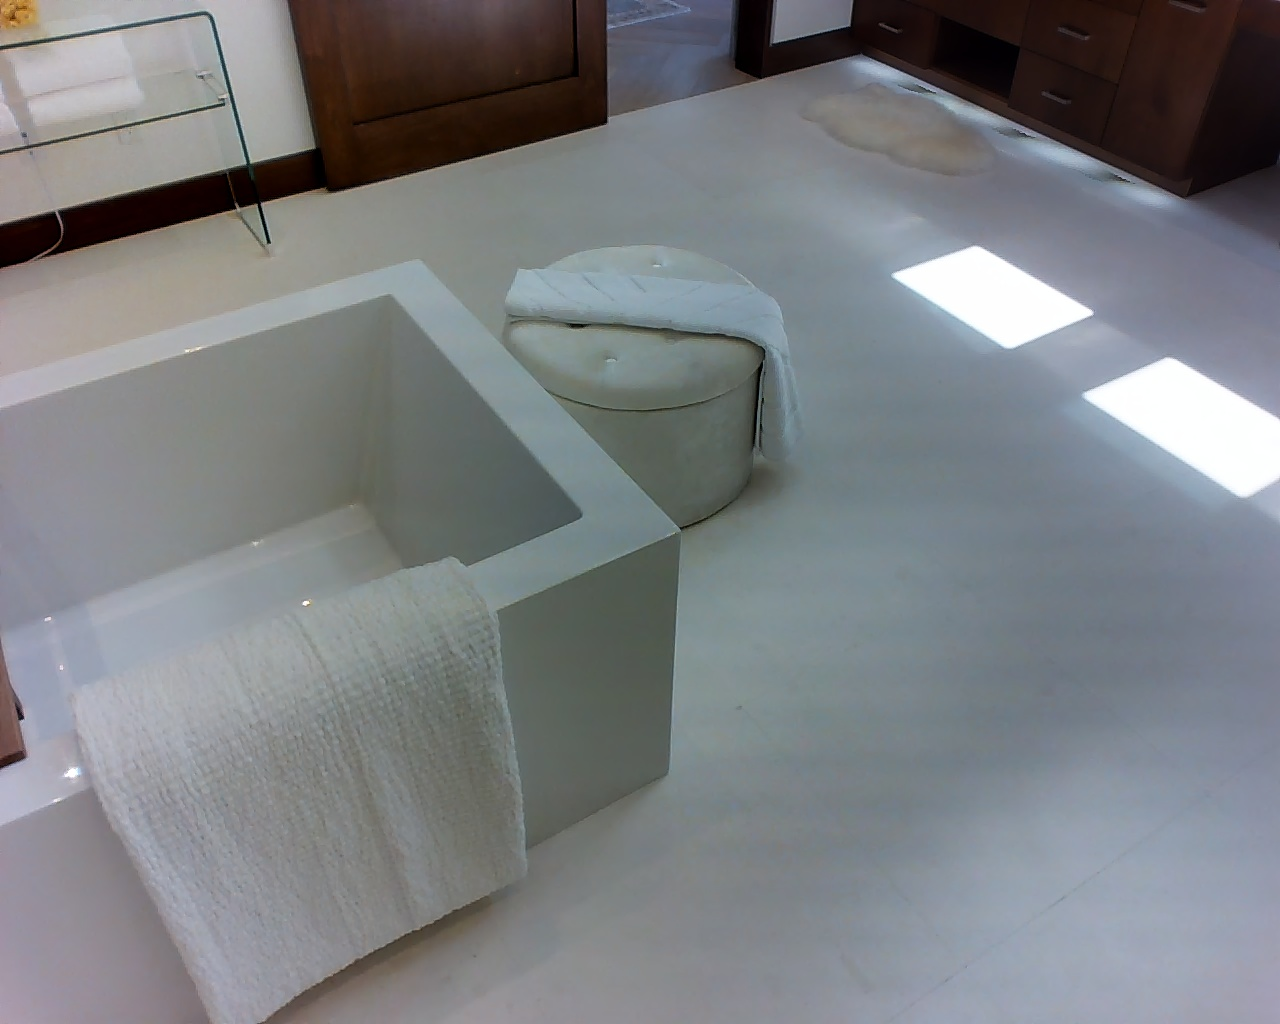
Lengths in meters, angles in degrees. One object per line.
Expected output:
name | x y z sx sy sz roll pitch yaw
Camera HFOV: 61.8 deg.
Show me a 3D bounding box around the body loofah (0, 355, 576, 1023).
body loofah | -0.540 0.280 1.650 0.580 0.630 0.720 -22 46 -23
